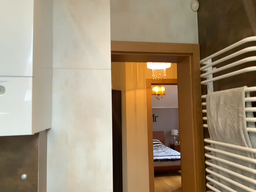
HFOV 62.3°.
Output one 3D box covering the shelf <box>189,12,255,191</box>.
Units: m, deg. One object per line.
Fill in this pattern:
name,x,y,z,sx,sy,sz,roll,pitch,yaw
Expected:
shelf,0.620,0.170,1.340,0.190,1.120,0.670,0,-4,-5
